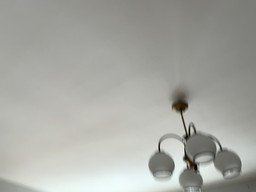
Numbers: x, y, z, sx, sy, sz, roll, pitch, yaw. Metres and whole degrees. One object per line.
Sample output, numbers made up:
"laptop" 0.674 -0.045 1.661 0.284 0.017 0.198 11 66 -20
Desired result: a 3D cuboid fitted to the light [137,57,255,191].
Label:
"light" 0.410 0.190 1.370 0.520 0.520 0.580 -17 -128 -11
